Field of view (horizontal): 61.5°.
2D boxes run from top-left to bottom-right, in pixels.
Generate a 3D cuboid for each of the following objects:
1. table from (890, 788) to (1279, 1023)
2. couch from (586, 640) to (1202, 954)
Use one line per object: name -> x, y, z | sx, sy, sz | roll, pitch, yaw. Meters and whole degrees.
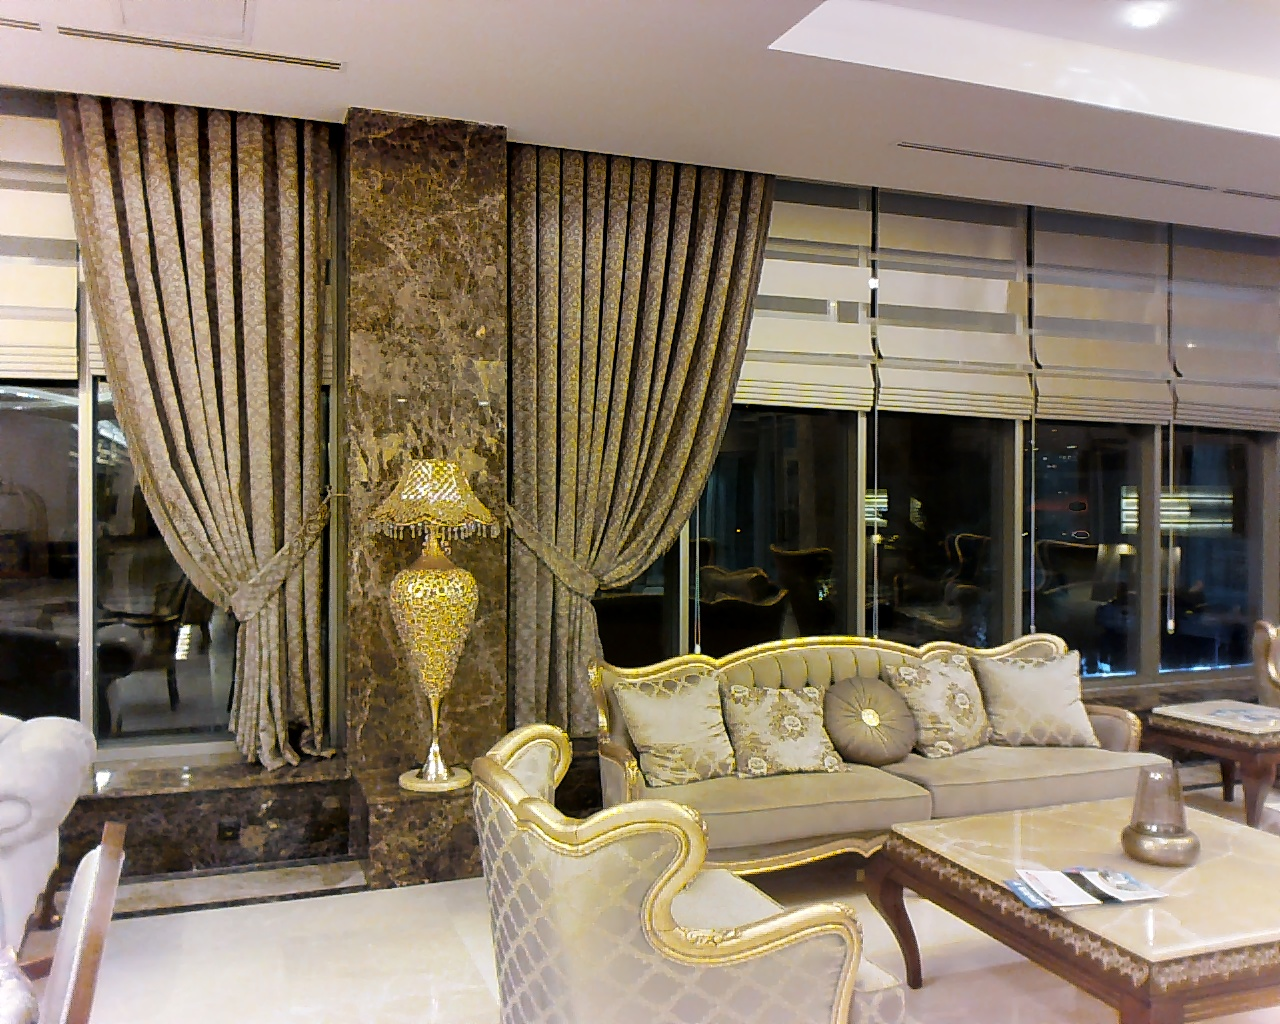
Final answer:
table -> 1.549, 1.241, 3.160 | 1.120, 0.470, 1.150 | 0, 0, -24
couch -> 1.080, 1.080, 4.570 | 2.439, 0.860, 0.960 | 0, 0, -22
